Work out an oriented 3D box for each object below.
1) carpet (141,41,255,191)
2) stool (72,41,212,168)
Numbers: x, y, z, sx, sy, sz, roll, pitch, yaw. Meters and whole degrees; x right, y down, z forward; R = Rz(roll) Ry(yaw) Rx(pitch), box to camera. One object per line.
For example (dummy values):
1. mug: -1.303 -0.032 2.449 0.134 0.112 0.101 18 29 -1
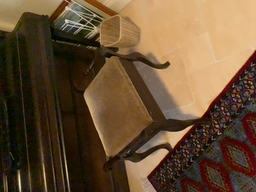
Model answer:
1. carpet: 0.710 0.360 1.080 1.430 0.020 0.970 -55 53 27
2. stool: 0.080 0.050 1.310 0.390 0.580 0.540 -47 57 32
